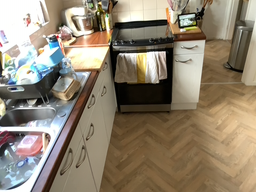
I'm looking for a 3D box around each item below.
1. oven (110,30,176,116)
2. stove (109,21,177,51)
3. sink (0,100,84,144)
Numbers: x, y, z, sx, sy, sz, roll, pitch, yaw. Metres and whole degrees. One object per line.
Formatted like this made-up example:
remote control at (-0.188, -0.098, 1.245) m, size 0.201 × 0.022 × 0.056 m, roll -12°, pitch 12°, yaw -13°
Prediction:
oven at (0.190, -0.280, 2.560) m, size 0.640 × 0.830 × 0.620 m, roll -1°, pitch 34°, yaw 5°
stove at (0.160, -0.660, 2.290) m, size 0.640 × 0.090 × 0.640 m, roll -1°, pitch 34°, yaw 5°
sink at (-0.560, 0.150, 1.230) m, size 0.550 × 0.160 × 0.200 m, roll -1°, pitch 34°, yaw 5°
